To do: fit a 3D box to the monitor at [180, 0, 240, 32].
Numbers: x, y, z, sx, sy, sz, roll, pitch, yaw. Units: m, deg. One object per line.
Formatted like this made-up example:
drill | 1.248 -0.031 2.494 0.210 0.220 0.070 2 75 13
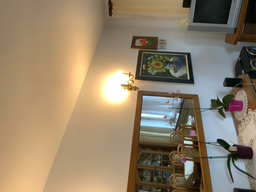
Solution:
monitor | 1.060 -1.260 2.790 0.570 0.580 0.710 -75 -11 -66
